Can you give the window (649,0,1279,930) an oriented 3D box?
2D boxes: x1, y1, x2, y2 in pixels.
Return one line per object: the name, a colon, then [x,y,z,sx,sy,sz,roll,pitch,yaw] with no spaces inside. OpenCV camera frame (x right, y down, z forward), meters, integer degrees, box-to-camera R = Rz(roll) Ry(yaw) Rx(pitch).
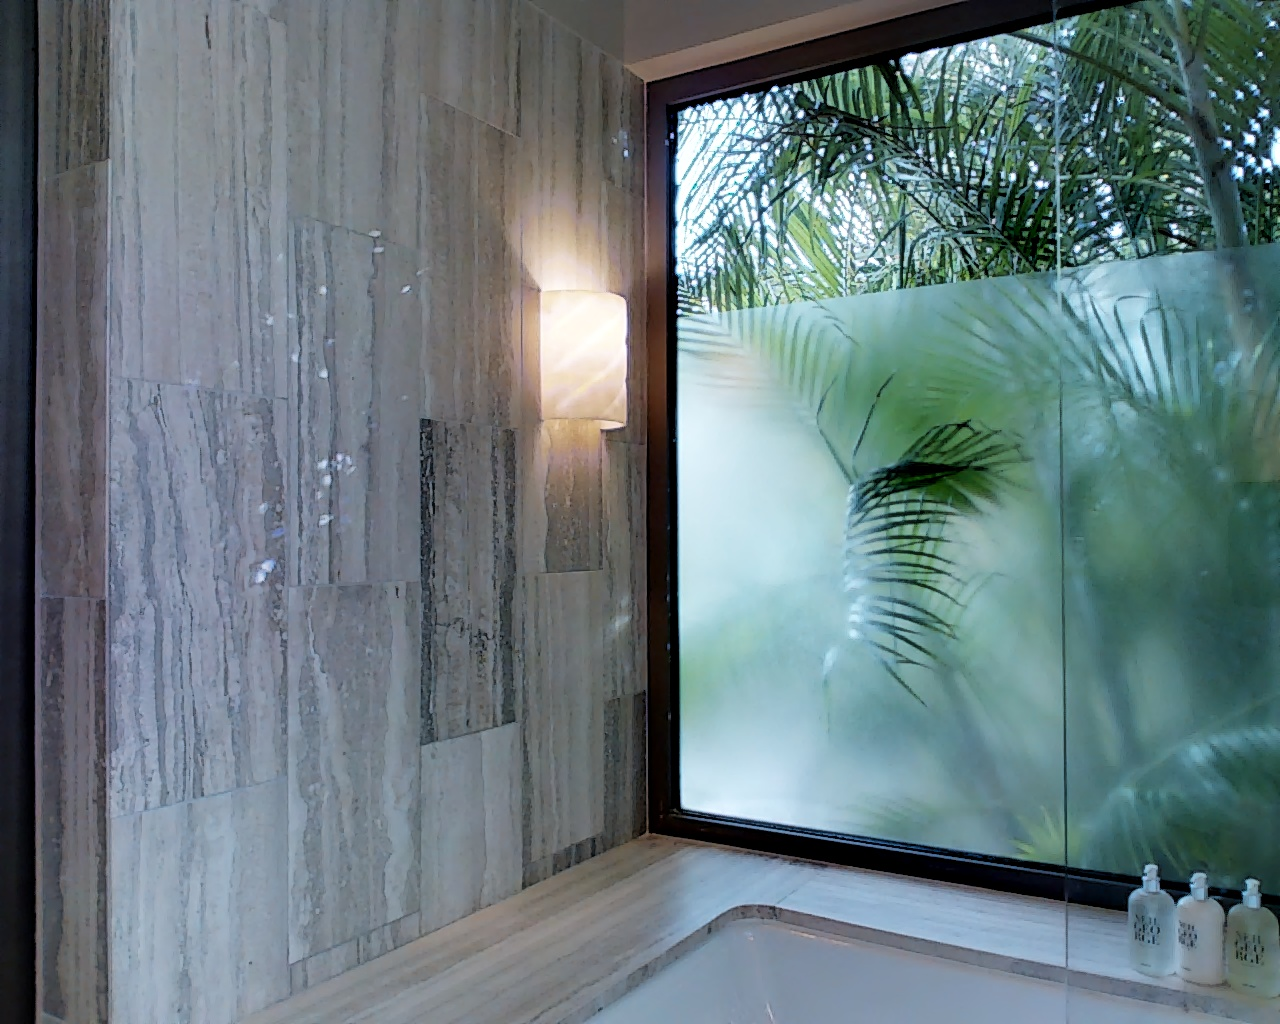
window: [0.960,-0.160,2.160,2.130,1.860,0.090,-1,-1,32]
